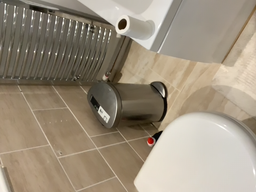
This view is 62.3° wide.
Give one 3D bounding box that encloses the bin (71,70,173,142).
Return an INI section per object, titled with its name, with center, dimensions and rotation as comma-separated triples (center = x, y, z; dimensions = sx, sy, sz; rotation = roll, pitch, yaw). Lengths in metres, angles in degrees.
[bin]
center = -0.030, 0.040, 1.300
dimensions = 0.330, 0.480, 0.230
rotation = 44, 121, 35
